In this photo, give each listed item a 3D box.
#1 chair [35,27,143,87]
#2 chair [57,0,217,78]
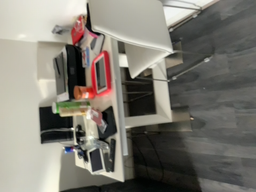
[{"bbox_3d":[-0.370,-0.340,2.160,0.390,0.980,0.420,-14,79,55],"label":"chair"},{"bbox_3d":[0.070,-0.420,1.530,0.550,0.970,0.390,-26,70,53],"label":"chair"}]
